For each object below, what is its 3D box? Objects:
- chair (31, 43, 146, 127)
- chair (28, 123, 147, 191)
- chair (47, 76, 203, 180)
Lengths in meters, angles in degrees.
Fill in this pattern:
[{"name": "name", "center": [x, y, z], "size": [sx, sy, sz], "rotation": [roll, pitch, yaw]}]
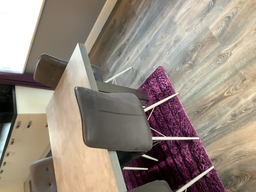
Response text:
[{"name": "chair", "center": [-0.390, -0.080, 2.090], "size": [0.440, 0.910, 0.560], "rotation": [-49, 52, 39]}, {"name": "chair", "center": [-0.390, 0.610, 2.050], "size": [0.560, 0.910, 0.400], "rotation": [-51, 51, 38]}, {"name": "chair", "center": [-0.020, 0.230, 1.570], "size": [0.560, 0.920, 0.420], "rotation": [-47, 53, 41]}]
